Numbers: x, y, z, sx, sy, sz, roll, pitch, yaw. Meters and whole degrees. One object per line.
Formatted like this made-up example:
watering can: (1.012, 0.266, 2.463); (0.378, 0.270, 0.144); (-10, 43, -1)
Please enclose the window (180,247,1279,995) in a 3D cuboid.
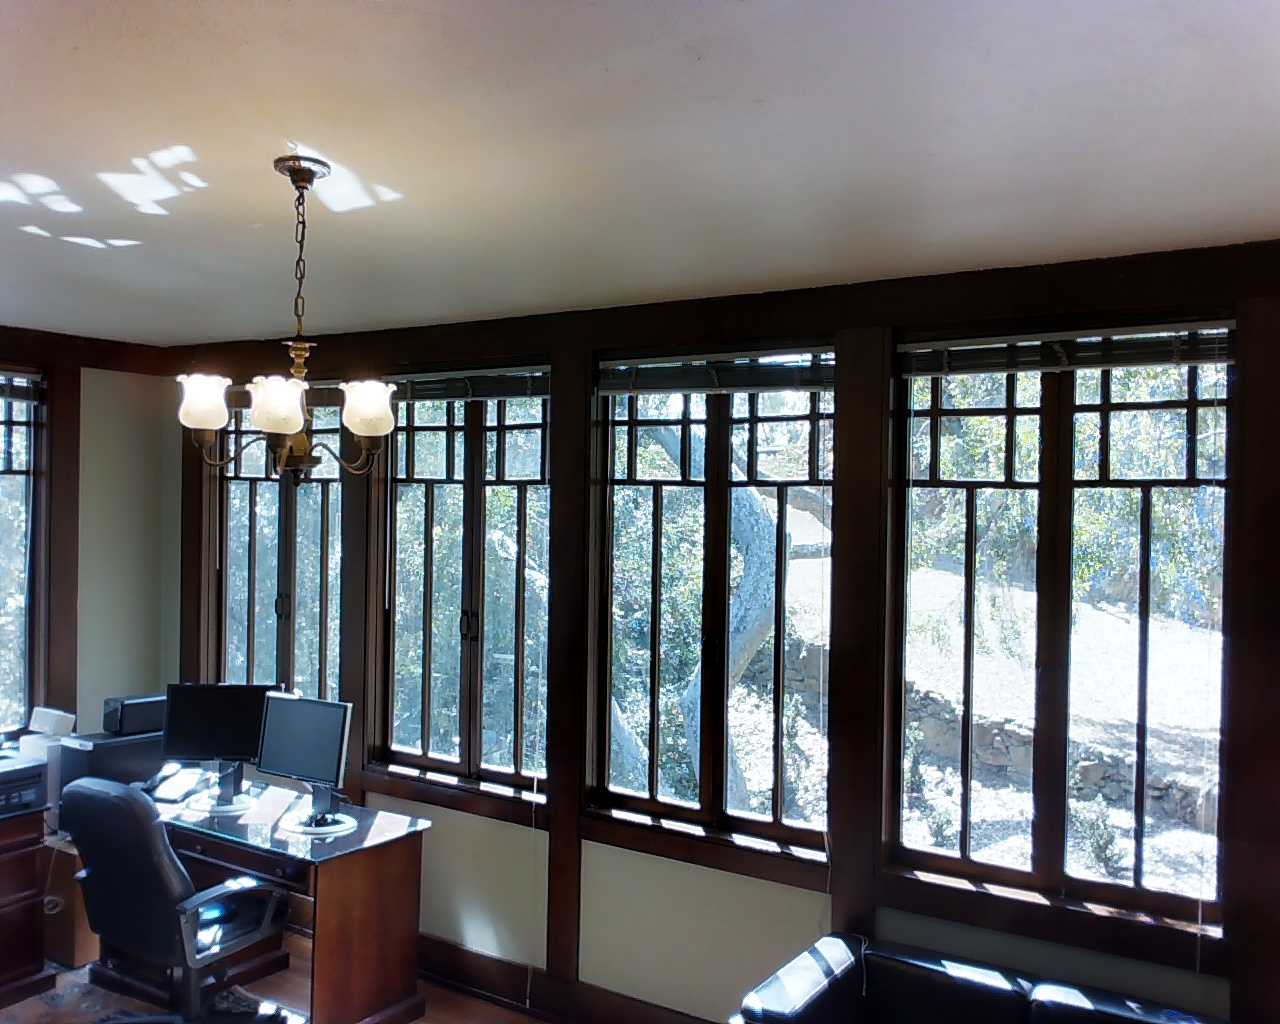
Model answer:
window: (0.250, 0.260, 4.010); (6.129, 2.050, 0.160); (1, 1, 33)
